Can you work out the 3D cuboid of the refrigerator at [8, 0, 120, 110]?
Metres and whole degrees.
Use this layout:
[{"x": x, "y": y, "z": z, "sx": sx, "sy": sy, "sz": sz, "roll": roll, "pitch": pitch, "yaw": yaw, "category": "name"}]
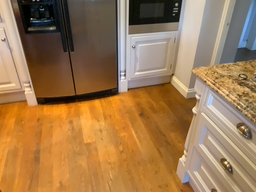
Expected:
[{"x": -0.600, "y": -0.780, "z": 2.150, "sx": 0.940, "sy": 1.760, "sz": 0.480, "roll": -9, "pitch": 35, "yaw": -17, "category": "refrigerator"}]
